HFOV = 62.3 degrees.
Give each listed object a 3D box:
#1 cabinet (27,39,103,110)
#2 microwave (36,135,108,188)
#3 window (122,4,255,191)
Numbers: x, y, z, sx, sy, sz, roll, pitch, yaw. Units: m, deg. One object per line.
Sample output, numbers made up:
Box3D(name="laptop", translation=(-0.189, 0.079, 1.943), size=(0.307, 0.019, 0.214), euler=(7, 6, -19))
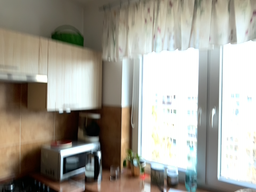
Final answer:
Box3D(name="cabinet", translation=(-0.580, -0.170, 2.030), size=(0.350, 0.560, 0.600), euler=(1, 0, 37))
Box3D(name="microwave", translation=(-0.510, 0.570, 1.960), size=(0.430, 0.290, 0.470), euler=(1, 0, 39))
Box3D(name="window", translation=(0.630, 0.080, 1.630), size=(1.550, 1.310, 0.260), euler=(1, 0, 39))
